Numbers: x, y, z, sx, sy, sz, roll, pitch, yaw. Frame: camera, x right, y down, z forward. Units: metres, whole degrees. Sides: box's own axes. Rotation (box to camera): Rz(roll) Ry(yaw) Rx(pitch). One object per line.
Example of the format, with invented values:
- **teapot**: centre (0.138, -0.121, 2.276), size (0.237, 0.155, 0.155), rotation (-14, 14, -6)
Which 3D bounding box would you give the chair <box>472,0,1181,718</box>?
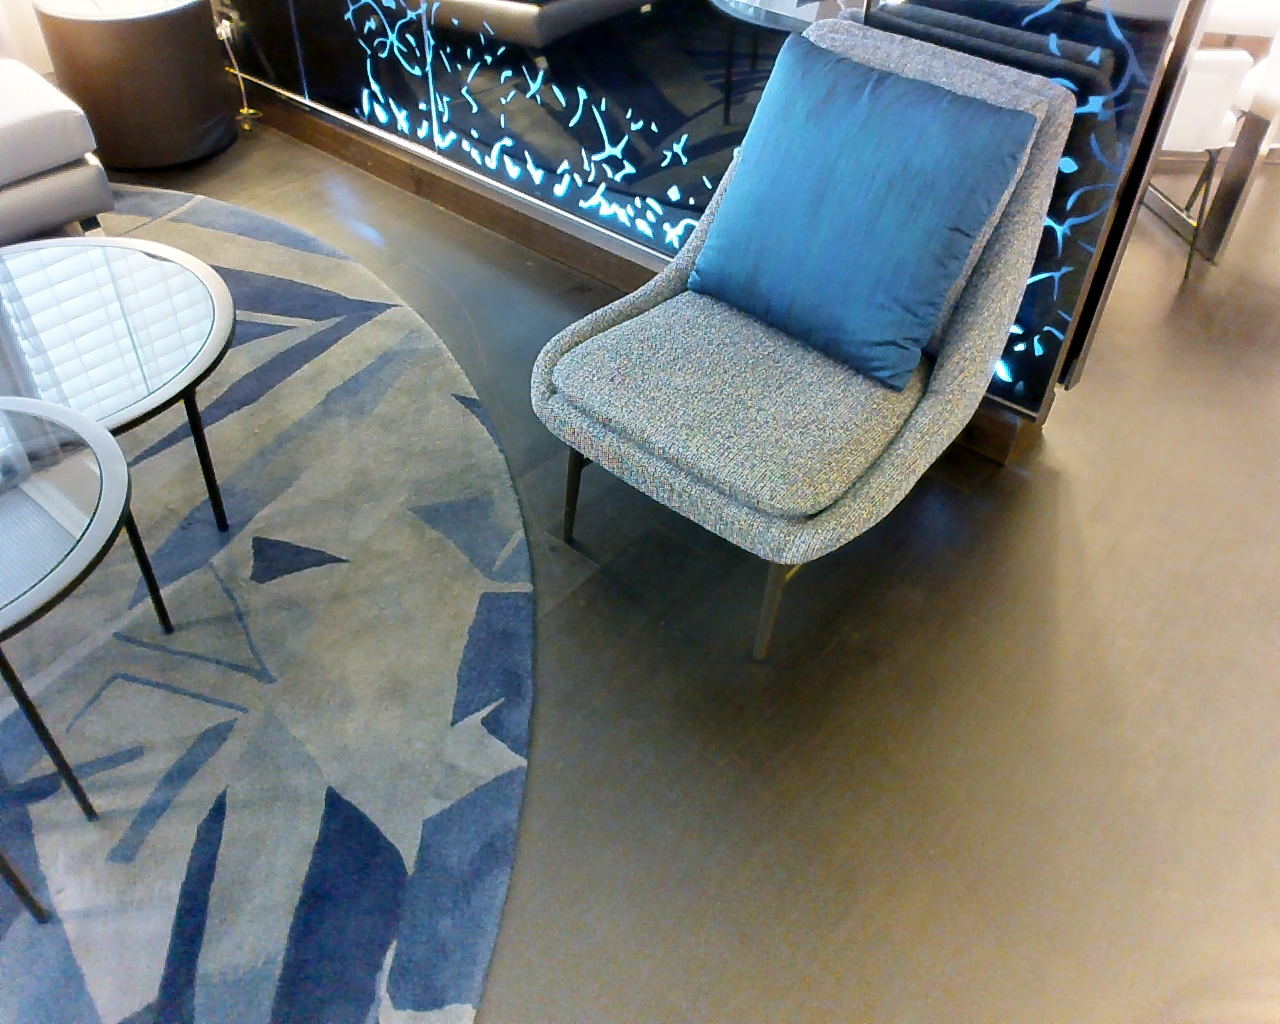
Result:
- **chair**: centre (0.320, -0.370, 2.040), size (0.760, 0.900, 0.920), rotation (31, 50, 28)
